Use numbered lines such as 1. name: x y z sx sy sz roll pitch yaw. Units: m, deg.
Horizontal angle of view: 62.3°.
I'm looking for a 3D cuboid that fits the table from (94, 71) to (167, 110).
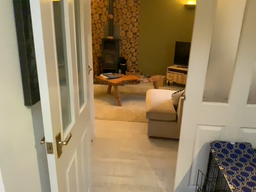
1. table: 0.040 -0.180 4.530 1.300 0.480 0.830 -10 22 -34
